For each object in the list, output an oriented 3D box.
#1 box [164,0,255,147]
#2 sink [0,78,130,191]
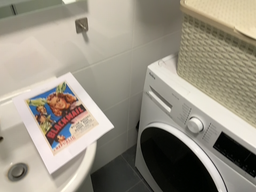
[{"bbox_3d":[0.470,-0.120,0.690,0.430,0.290,0.500,-26,52,-27],"label":"box"},{"bbox_3d":[-0.320,0.210,0.590,0.490,0.160,0.420,-26,52,-27],"label":"sink"}]
